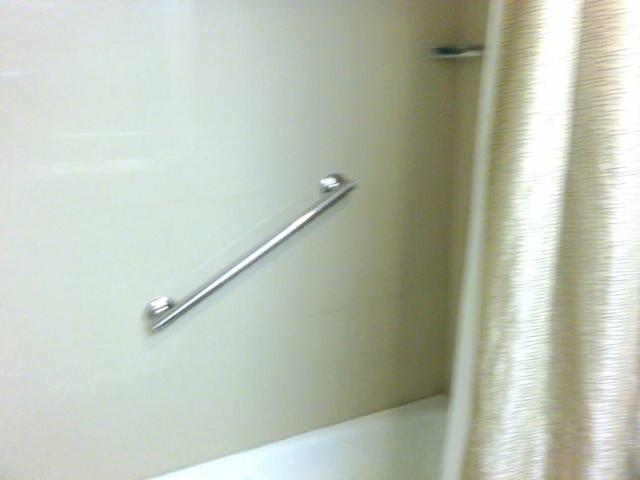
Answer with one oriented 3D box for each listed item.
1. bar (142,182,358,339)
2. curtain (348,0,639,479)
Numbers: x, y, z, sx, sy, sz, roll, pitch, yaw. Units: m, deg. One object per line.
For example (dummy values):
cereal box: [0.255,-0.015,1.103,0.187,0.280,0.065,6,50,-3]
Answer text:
bar: [-0.170,0.040,1.590,0.580,0.350,0.090,-7,15,-25]
curtain: [0.490,0.240,1.200,0.710,1.710,0.500,-7,15,-25]
